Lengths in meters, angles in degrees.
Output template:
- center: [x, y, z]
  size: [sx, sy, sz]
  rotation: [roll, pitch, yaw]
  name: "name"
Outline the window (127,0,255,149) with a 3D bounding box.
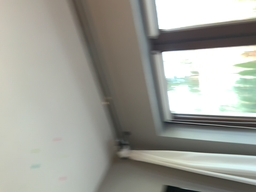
- center: [0.840, -0.410, 1.390]
  size: [0.270, 1.590, 1.810]
  rotation: [-57, -40, -50]
  name: "window"
